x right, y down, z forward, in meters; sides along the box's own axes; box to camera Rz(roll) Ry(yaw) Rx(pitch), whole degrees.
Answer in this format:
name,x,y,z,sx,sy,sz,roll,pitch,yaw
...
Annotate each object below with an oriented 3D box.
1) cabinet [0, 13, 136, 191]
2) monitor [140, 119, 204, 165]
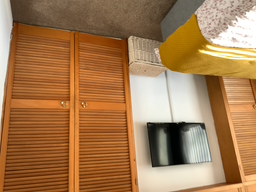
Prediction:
name,x,y,z,sx,sy,sz,roll,pitch,yaw
cabinet,-0.620,0.120,2.220,1.250,1.850,0.280,3,161,-24
monitor,0.570,0.560,2.680,0.890,0.530,0.030,3,162,-25
